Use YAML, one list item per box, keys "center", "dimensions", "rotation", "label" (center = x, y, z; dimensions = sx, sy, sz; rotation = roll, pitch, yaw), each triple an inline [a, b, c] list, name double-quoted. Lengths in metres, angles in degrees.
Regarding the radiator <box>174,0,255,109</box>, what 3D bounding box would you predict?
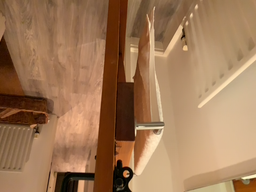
- center: [0.340, -0.340, 0.800]
  dimensions: [0.040, 0.600, 0.540]
  rotation: [6, 149, -12]
  label: "radiator"
